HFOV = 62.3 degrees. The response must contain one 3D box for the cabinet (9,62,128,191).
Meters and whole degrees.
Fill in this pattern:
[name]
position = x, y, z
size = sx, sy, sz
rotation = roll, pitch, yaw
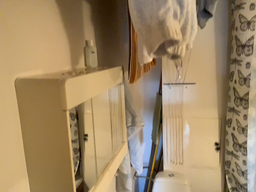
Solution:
[cabinet]
position = -0.160, 0.120, 0.910
size = 0.150, 0.480, 0.650
rotation = 0, 12, 14
